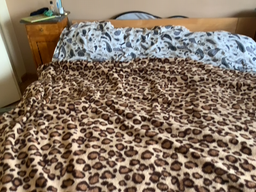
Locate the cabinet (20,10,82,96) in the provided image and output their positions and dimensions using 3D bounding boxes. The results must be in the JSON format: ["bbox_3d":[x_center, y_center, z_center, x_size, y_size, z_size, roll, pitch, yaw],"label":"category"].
[{"bbox_3d":[-0.810,-0.480,2.380,0.350,0.830,0.430,3,32,7],"label":"cabinet"}]
